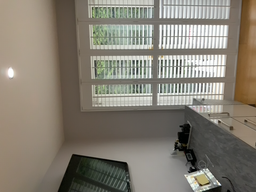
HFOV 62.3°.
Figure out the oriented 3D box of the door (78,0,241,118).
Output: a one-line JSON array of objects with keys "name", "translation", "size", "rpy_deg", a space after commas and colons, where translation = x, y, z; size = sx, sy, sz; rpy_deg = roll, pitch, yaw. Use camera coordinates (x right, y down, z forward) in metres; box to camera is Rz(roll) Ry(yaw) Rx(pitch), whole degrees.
[{"name": "door", "translation": [0.420, -0.530, 2.850], "size": [0.080, 2.080, 1.650], "rpy_deg": [-111, 21, -77]}]
